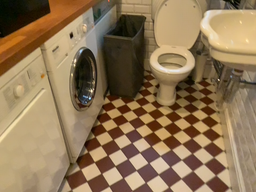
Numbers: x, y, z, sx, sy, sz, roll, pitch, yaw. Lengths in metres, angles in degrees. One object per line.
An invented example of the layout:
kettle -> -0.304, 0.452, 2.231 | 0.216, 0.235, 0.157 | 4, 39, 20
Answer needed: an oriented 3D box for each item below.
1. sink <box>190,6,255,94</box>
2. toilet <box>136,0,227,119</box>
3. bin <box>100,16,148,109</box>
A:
sink -> 0.450, -0.210, 0.860 | 0.350, 0.170, 0.450 | 8, 37, 10
toilet -> 0.390, -0.420, 1.770 | 0.500, 0.920, 0.690 | 8, 37, 10
bin -> -0.010, -0.330, 1.960 | 0.240, 0.600, 0.630 | 9, 38, 12
